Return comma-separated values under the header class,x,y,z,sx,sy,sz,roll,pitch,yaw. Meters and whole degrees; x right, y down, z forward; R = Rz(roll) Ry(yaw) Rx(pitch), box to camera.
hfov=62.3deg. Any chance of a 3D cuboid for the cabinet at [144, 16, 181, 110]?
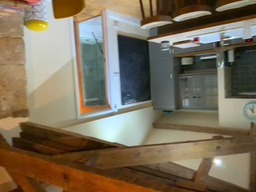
class,x,y,z,sx,sy,sz,roll,pitch,yaw
cabinet,0.920,-0.810,5.590,0.670,2.260,0.640,0,-175,37
